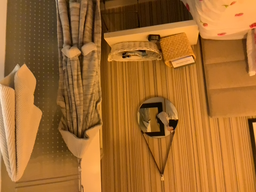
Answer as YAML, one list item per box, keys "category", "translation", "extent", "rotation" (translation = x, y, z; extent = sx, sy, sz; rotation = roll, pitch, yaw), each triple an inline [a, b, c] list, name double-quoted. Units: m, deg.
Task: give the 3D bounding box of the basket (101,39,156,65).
- category: "basket"
  translation: [0.020, -0.410, 2.050]
  extent: [0.470, 0.090, 0.320]
  rotation: [-5, 171, 12]

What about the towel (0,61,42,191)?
- category: "towel"
  translation: [-0.670, 0.190, 1.250]
  extent: [0.270, 0.750, 0.180]
  rotation: [2, 170, -29]

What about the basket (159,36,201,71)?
- category: "basket"
  translation: [0.470, -0.380, 1.950]
  extent: [0.330, 0.190, 0.310]
  rotation: [-5, 171, 12]
